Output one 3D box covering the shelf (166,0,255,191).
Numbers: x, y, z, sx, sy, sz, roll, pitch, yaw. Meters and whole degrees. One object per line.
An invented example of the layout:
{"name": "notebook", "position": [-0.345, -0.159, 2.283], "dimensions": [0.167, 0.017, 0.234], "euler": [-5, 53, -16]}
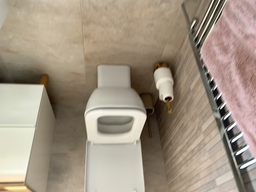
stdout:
{"name": "shelf", "position": [0.340, 0.060, 0.570], "dimensions": [0.140, 1.330, 0.670], "euler": [-2, 146, -4]}
